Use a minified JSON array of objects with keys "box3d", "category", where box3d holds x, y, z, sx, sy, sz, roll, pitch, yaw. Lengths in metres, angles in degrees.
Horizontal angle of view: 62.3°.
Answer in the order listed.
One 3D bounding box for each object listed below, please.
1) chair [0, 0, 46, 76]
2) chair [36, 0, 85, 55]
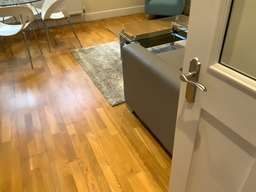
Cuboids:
[{"box3d":[-1.550,-0.800,2.860,0.600,0.780,0.550,-17,37,-21],"category":"chair"},{"box3d":[-1.070,-1.170,3.380,0.550,0.780,0.580,-12,36,-16],"category":"chair"}]
